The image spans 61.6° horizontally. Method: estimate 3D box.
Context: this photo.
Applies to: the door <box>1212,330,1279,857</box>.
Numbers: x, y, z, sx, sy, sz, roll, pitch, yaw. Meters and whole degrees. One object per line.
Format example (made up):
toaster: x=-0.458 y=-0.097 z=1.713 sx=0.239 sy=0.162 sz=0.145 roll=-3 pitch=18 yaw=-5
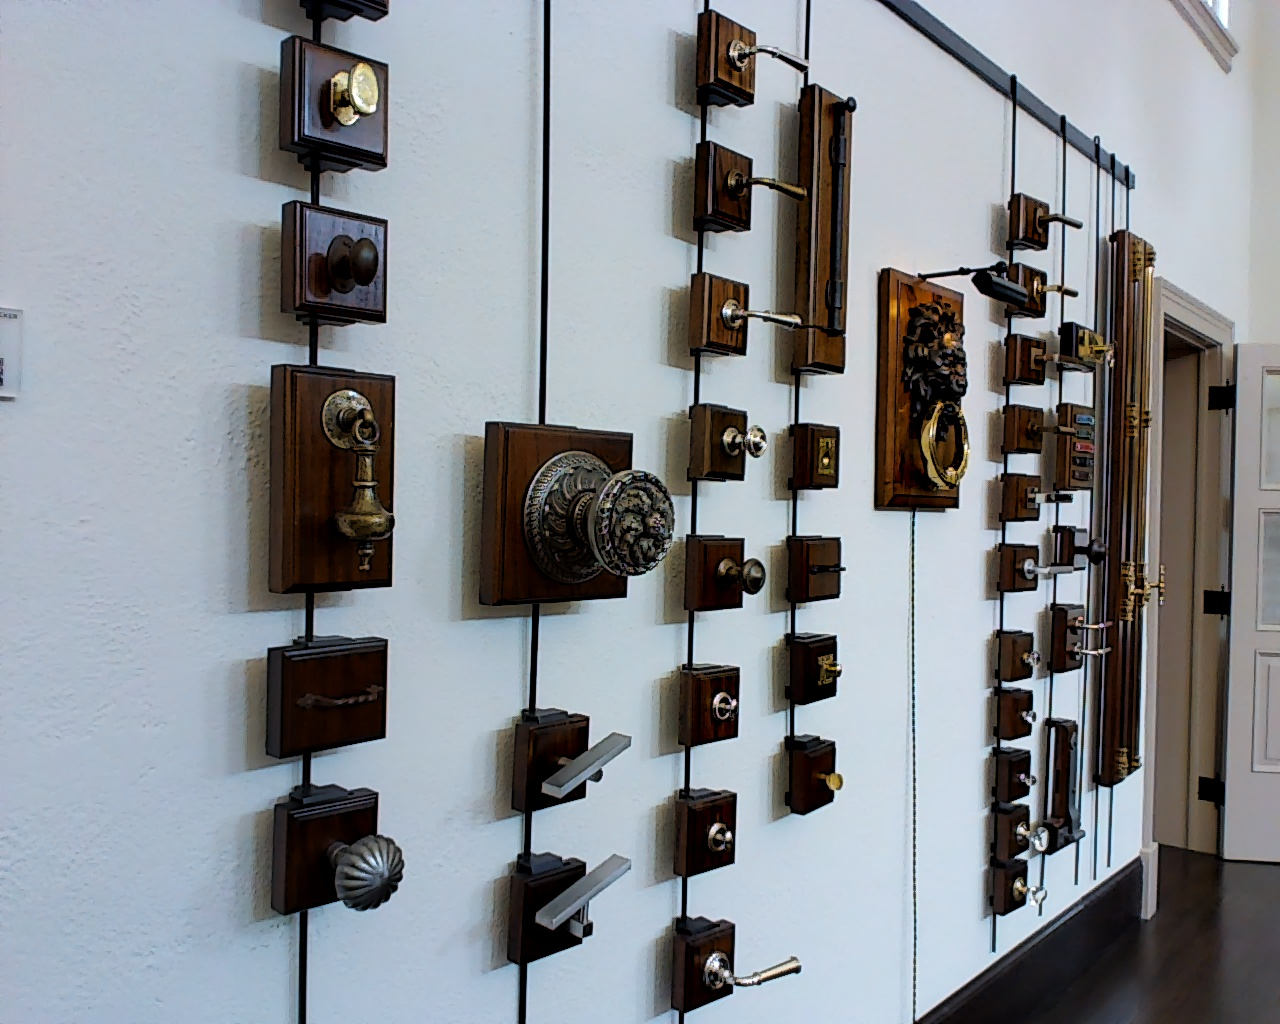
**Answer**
door: x=3.080 y=0.360 z=4.720 sx=0.960 sy=2.300 sz=0.140 roll=1 pitch=0 yaw=7
